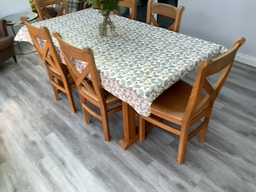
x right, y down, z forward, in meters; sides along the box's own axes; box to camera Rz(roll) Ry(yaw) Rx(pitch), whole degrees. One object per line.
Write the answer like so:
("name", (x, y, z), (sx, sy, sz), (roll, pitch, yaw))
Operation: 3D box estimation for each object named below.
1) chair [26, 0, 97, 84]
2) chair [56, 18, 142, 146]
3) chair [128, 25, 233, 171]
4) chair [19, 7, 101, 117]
("chair", (-0.800, -0.730, 2.700), (0.490, 0.930, 0.480), (27, 46, 33))
("chair", (-0.210, -0.120, 1.890), (0.470, 0.930, 0.460), (-31, 45, -32))
("chair", (0.350, 0.020, 1.660), (0.460, 0.930, 0.490), (-30, 45, -32))
("chair", (-0.650, -0.350, 2.200), (0.460, 0.930, 0.460), (-32, 46, -33))
